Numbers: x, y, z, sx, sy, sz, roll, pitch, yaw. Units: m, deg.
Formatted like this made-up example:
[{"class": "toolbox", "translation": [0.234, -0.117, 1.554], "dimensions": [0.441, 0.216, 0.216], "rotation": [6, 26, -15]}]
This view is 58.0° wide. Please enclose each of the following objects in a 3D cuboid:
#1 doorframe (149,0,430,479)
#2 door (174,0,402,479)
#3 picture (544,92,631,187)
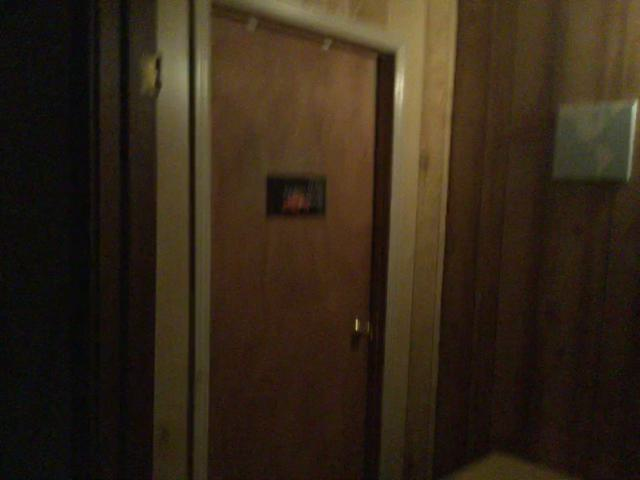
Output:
[{"class": "doorframe", "translation": [-0.060, 0.350, 1.860], "dimensions": [0.920, 2.100, 0.140], "rotation": [4, -1, -41]}, {"class": "door", "translation": [-0.080, 0.350, 1.850], "dimensions": [0.760, 2.050, 0.060], "rotation": [4, -1, -41]}, {"class": "picture", "translation": [0.870, -0.320, 1.890], "dimensions": [0.050, 0.280, 0.240], "rotation": [4, -1, -41]}]
